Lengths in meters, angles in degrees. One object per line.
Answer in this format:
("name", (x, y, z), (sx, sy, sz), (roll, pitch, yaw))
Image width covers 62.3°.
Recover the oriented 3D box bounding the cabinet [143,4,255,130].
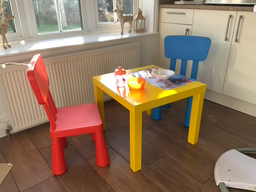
("cabinet", (0.890, -0.330, 1.900), (0.460, 0.880, 1.680), (-20, 31, -36))
